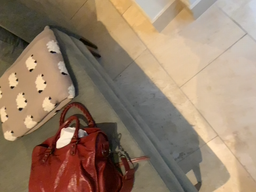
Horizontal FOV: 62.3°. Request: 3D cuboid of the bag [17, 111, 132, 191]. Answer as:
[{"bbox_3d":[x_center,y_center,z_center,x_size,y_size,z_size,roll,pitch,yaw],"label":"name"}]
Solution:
[{"bbox_3d":[-0.210,0.250,0.770,0.410,0.120,0.320,-13,78,25],"label":"bag"}]
